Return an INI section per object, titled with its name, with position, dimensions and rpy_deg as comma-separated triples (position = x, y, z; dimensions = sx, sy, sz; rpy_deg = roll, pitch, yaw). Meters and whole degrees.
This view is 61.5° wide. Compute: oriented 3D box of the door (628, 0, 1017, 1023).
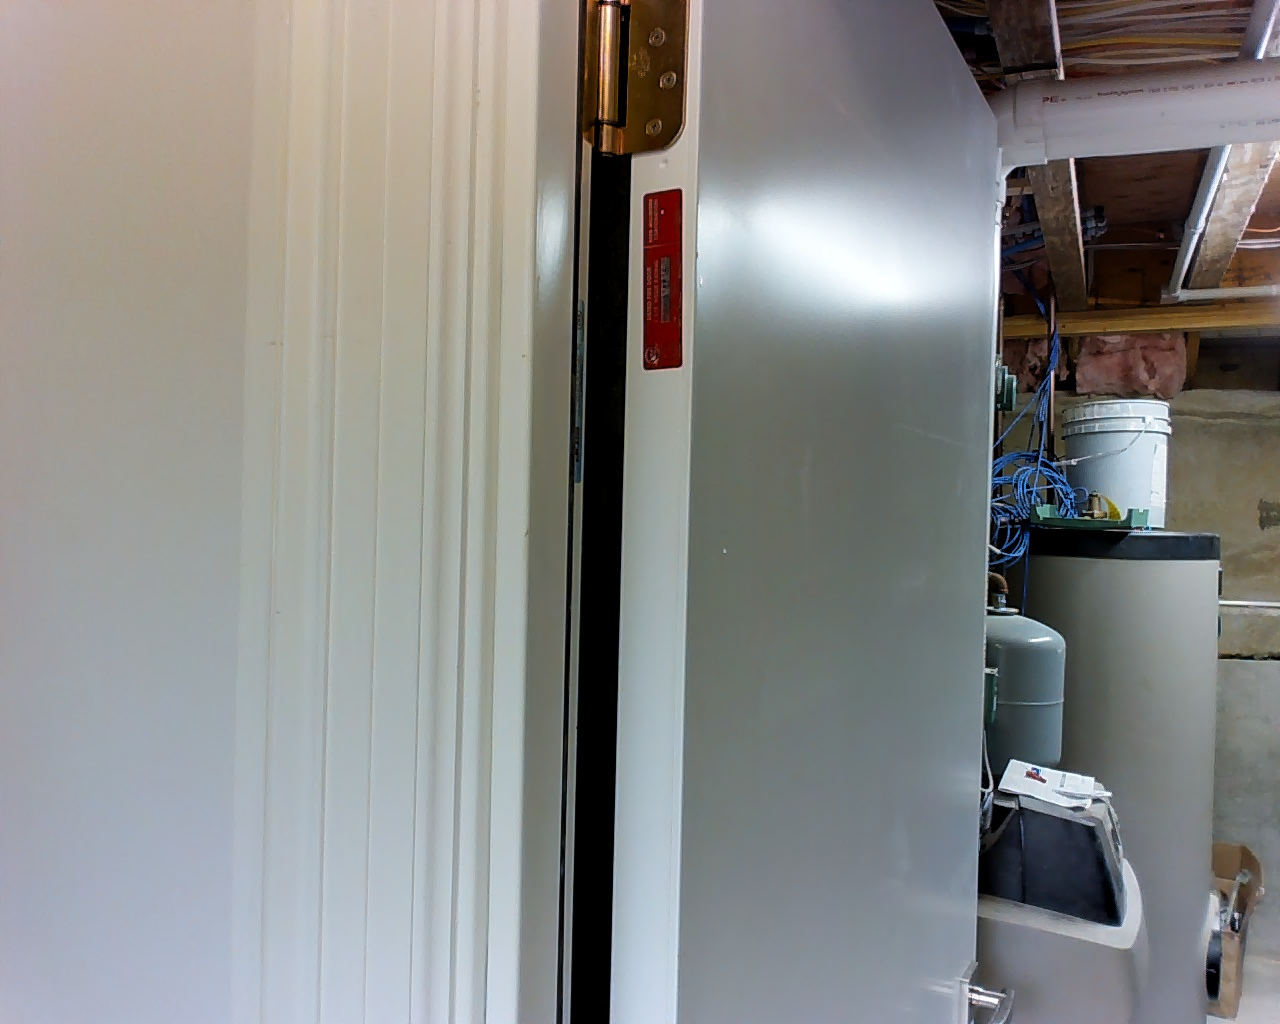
[door]
position = 0.240, 0.500, 1.020
dimensions = 0.040, 2.140, 1.010
rpy_deg = 1, 0, 28
